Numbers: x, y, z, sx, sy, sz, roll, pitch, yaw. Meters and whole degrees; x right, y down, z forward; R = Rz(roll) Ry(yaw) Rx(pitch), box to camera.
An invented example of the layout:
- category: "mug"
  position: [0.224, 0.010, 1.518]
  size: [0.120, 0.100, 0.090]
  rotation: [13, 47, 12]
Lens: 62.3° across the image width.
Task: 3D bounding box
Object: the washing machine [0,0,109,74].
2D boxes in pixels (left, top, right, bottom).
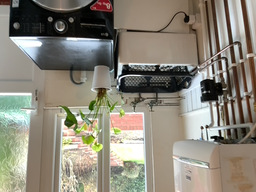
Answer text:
- category: "washing machine"
  position: [-0.450, -0.690, 1.600]
  size: [0.590, 0.850, 0.810]
  rotation: [0, 170, -6]

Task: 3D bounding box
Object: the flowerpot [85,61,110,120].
- category: "flowerpot"
  position: [-0.240, -0.030, 1.730]
  size: [0.180, 0.430, 0.280]
  rotation: [0, 170, -5]
